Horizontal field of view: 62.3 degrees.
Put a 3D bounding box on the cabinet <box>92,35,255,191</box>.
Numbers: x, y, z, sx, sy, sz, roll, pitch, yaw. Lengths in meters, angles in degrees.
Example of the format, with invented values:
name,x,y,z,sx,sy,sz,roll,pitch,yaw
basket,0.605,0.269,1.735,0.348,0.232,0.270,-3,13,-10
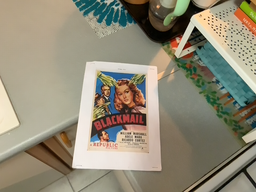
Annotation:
name,x,y,z,sx,sy,sz,roll,pitch,yaw
cabinet,0.180,0.210,0.970,0.570,0.850,0.270,-29,71,-17
